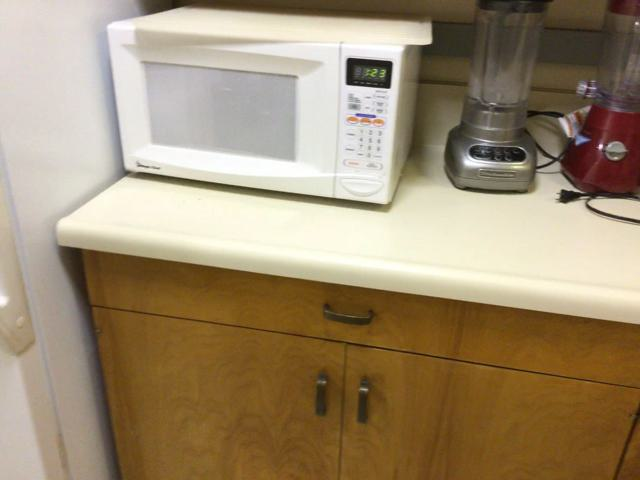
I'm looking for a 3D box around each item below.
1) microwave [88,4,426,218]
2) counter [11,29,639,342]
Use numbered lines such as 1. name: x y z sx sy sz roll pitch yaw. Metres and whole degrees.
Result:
1. microwave: -0.090 -0.300 1.210 0.570 0.310 0.410 7 27 9
2. counter: 0.940 -0.090 1.000 2.720 0.310 0.680 7 27 9
